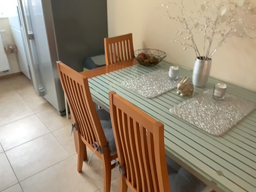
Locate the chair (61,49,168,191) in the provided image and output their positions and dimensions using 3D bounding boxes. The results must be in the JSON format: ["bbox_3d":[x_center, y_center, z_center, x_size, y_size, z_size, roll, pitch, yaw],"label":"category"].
[{"bbox_3d":[-0.090,0.210,1.520,0.480,0.920,0.450,-22,36,-36],"label":"chair"}]
